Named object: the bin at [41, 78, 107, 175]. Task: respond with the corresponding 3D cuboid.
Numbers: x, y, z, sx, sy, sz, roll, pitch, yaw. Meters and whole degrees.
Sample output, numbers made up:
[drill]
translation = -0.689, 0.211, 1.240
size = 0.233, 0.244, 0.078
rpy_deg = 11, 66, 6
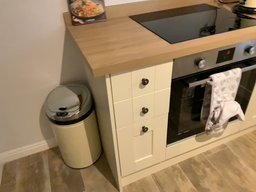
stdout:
[bin]
translation = -0.370, 0.210, 1.500
size = 0.300, 0.520, 0.340
rpy_deg = -16, 38, -17
